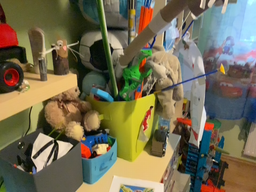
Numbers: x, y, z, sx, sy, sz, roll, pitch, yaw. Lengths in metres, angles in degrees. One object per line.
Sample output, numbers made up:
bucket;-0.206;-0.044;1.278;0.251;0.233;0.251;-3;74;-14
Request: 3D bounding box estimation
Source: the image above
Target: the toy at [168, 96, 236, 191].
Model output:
toy;0.680;0.520;1.960;0.400;0.750;0.820;10;23;21
